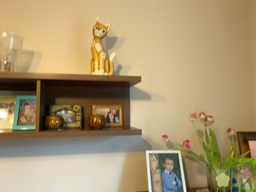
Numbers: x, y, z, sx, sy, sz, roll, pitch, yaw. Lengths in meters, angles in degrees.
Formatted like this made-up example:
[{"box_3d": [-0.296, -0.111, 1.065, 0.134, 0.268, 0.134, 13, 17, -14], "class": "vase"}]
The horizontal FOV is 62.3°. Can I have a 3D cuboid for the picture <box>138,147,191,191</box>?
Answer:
[{"box_3d": [0.200, 0.440, 1.180, 0.240, 0.260, 0.120, -6, -4, -13], "class": "picture"}]
